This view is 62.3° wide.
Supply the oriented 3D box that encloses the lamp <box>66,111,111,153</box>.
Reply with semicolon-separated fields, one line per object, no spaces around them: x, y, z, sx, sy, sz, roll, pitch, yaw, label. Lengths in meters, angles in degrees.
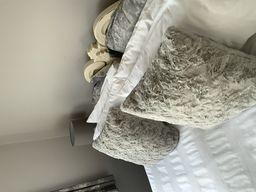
-0.410;0.360;2.150;0.270;0.360;0.290;122;138;-51;lamp
